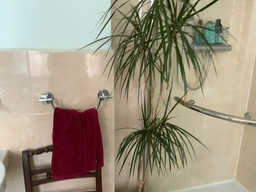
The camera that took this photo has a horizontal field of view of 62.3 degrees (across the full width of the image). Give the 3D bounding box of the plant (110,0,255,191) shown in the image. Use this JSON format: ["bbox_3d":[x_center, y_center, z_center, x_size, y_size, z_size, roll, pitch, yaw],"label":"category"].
[{"bbox_3d":[0.210,0.200,1.190,0.580,1.460,0.440,-1,16,-8],"label":"plant"}]

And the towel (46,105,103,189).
[{"bbox_3d":[-0.260,0.250,1.080,0.240,0.360,0.170,-3,16,-11],"label":"towel"}]
